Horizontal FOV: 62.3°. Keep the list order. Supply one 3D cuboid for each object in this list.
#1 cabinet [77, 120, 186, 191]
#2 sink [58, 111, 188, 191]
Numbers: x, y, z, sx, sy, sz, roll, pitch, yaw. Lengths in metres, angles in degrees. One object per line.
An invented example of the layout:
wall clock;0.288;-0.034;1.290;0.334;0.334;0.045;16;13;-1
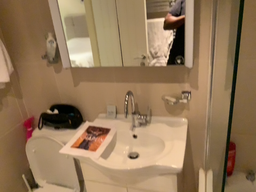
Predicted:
cabinet;0.080;0.610;1.320;0.510;0.800;0.370;2;26;19
sink;0.010;0.270;1.150;0.580;0.150;0.430;2;26;19
